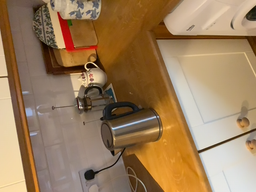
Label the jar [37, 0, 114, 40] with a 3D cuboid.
[{"bbox_3d":[-0.280,-0.560,1.120,0.520,0.280,0.280,-36,67,56],"label":"jar"}]

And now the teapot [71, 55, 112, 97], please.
[{"bbox_3d":[-0.220,-0.120,1.260,0.150,0.160,0.190,-34,69,56],"label":"teapot"}]

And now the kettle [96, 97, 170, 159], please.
[{"bbox_3d":[0.020,0.130,0.880,0.130,0.230,0.190,-35,68,56],"label":"kettle"}]
